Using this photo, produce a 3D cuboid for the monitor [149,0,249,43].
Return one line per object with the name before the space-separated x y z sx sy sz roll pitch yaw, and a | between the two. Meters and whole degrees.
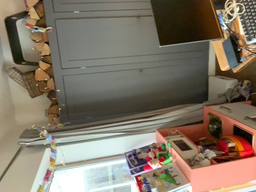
monitor | 0.340 -0.520 1.100 0.040 0.470 0.520 119 147 -71
